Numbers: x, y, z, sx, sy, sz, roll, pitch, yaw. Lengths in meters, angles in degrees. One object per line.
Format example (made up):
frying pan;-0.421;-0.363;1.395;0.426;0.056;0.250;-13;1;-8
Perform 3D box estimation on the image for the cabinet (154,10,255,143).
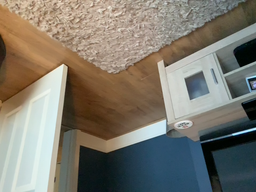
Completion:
cabinet;0.810;-0.160;1.220;1.180;0.460;0.480;-24;143;29
